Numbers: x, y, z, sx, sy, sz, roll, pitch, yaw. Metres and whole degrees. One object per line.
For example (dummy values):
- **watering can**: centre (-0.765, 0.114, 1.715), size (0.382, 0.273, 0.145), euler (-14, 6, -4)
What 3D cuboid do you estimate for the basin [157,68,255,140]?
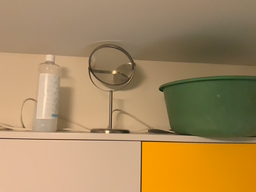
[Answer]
- **basin**: centre (0.330, 0.050, 0.750), size (0.370, 0.190, 0.320), euler (3, -9, -8)
